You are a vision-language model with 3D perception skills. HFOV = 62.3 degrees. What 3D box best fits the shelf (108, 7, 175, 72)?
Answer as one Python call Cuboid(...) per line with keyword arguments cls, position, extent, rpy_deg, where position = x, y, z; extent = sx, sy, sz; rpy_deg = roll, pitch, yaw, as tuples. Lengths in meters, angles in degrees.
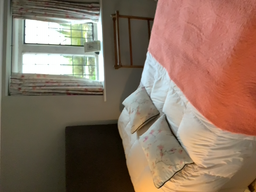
Cuboid(cls="shelf", position=(0.190, -0.810, 3.160), extent=(0.280, 0.900, 0.850), rpy_deg=(153, 114, -72))
